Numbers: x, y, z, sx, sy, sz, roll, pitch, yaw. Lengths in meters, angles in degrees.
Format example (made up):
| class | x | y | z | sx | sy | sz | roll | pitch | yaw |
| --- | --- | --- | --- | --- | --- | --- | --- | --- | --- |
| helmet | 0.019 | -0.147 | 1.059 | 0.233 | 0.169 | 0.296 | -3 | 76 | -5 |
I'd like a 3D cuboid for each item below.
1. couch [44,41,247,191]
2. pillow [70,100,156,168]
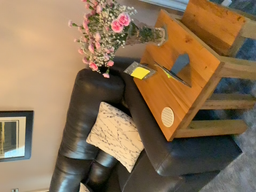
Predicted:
| class | x | y | z | sx | sy | sz | roll | pitch | yaw |
| --- | --- | --- | --- | --- | --- | --- | --- | --- | --- |
| couch | -0.210 | 0.790 | 2.160 | 2.300 | 0.940 | 1.030 | -65 | 35 | 37 |
| pillow | -0.110 | 0.330 | 1.690 | 0.500 | 0.450 | 0.180 | -29 | 48 | 11 |
